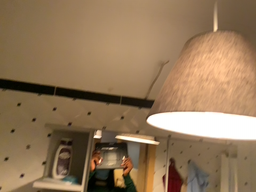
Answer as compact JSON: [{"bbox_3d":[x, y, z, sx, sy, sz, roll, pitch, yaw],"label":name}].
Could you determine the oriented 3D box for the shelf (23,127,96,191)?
[{"bbox_3d":[-0.290,0.480,0.840,0.220,0.670,0.200,8,-13,-6],"label":"shelf"}]
